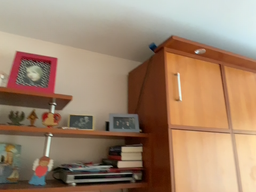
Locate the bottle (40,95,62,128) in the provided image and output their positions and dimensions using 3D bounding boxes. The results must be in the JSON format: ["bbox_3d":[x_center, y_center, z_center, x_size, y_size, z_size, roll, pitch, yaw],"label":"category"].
[{"bbox_3d":[-0.440,0.090,1.210,0.090,0.170,0.080,8,-18,-26],"label":"bottle"}]
